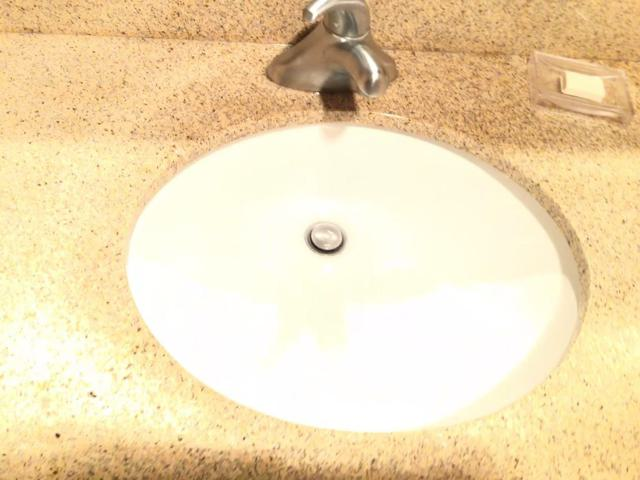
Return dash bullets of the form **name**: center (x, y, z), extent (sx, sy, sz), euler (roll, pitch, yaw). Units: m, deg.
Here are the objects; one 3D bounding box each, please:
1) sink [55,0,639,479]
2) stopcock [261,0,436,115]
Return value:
- **sink**: center (0.040, -0.030, 0.550), extent (0.430, 0.290, 0.420), euler (-1, 55, -10)
- **stopcock**: center (0.020, -0.220, 0.610), extent (0.150, 0.100, 0.140), euler (-1, 55, -10)
